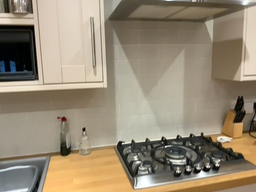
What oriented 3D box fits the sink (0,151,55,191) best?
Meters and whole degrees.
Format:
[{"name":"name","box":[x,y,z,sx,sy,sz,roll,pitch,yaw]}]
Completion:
[{"name":"sink","box":[-0.600,0.500,1.130,0.350,0.170,0.520,-4,9,-14]}]
